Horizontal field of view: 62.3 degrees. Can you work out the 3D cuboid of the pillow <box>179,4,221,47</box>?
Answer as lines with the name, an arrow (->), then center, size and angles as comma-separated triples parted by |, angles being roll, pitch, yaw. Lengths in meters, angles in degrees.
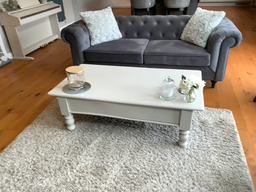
pillow -> 0.900, -0.880, 2.730 | 0.240, 0.380, 0.530 | 11, 4, -7

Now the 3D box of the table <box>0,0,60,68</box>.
table -> -1.940, -1.370, 4.390 | 0.230, 1.090, 1.400 | 5, 32, 11

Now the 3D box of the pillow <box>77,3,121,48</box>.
pillow -> -0.400, -0.980, 3.020 | 0.540, 0.480, 0.180 | 2, 12, -40

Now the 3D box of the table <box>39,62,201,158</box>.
table -> -0.030, 0.070, 2.100 | 1.330, 0.510, 0.700 | 5, 32, 12

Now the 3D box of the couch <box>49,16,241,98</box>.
couch -> 0.210, -0.650, 3.050 | 2.260, 0.760, 0.930 | 6, 32, 12
